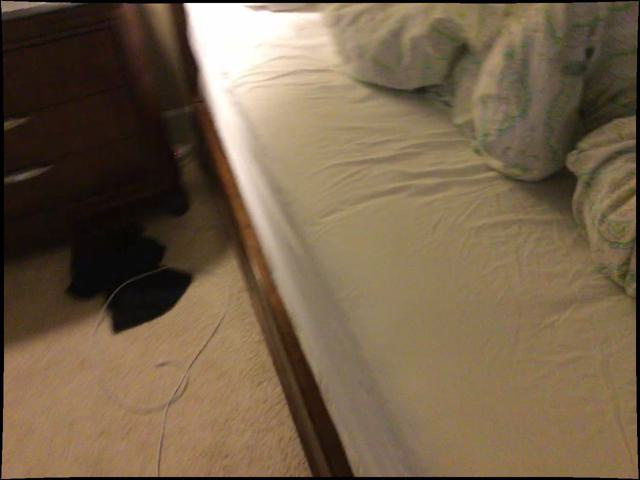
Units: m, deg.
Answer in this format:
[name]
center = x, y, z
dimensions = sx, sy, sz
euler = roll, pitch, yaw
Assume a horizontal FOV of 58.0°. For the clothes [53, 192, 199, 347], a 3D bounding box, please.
[clothes]
center = -0.589, 0.070, 1.730
dimensions = 0.339, 0.100, 0.410
euler = -19, 49, -13
